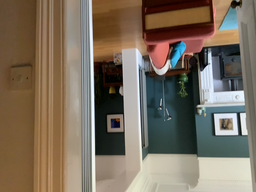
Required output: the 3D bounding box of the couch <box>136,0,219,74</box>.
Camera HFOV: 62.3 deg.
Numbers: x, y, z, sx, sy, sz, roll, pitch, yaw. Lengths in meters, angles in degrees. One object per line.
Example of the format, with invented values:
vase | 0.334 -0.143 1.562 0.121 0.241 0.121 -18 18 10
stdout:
couch | 0.690 -0.860 3.060 0.840 0.760 1.630 -3 175 13
